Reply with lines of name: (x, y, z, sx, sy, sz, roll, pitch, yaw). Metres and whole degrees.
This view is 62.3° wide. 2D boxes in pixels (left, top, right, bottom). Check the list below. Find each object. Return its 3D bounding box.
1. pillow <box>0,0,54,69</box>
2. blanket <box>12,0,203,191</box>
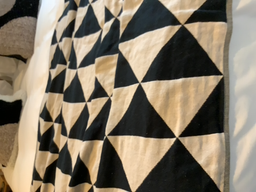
pillow: (-0.830, -0.490, 1.460, 0.350, 0.420, 0.460, -2, 75, 28)
blanket: (-0.130, -0.300, 0.670, 0.810, 0.070, 1.480, -3, 78, 53)
